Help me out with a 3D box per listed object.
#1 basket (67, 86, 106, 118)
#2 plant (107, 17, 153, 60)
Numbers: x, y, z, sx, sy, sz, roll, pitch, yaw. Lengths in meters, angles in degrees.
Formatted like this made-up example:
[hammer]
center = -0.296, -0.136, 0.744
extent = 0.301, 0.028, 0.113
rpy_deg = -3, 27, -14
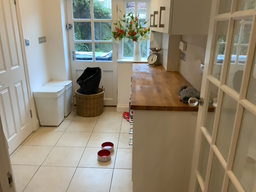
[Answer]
[basket]
center = -0.690, 0.090, 3.660
extent = 0.520, 0.380, 0.510
rpy_deg = 2, 18, 5
[plant]
center = 0.020, -0.920, 3.410
extent = 0.690, 0.640, 0.280
rpy_deg = 1, 18, 0
